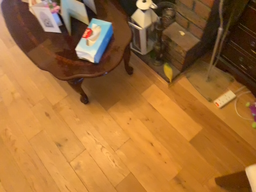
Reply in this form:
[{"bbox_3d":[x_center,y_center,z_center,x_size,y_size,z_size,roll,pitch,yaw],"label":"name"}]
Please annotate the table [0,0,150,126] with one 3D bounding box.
[{"bbox_3d":[-0.420,-0.410,1.460,0.590,0.460,1.000,-41,69,-14],"label":"table"}]
